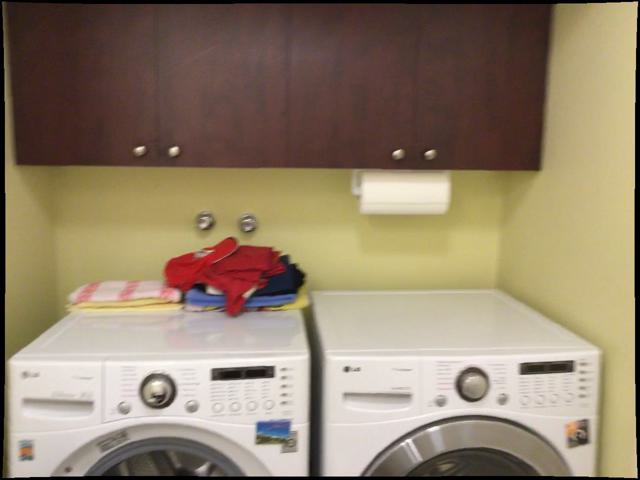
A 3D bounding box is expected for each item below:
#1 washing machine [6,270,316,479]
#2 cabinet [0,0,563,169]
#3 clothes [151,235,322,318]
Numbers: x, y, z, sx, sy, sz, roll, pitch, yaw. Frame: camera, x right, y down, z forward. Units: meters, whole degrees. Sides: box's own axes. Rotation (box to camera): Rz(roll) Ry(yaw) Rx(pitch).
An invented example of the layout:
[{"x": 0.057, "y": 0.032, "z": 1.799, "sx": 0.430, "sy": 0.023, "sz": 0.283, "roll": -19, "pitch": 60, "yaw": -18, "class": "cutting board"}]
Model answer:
[{"x": -0.360, "y": 0.671, "z": 1.690, "sx": 0.639, "sy": 1.011, "sz": 0.810, "roll": 0, "pitch": 9, "yaw": -4, "class": "washing machine"}, {"x": -0.090, "y": -0.591, "z": 1.680, "sx": 1.578, "sy": 0.751, "sz": 0.100, "roll": 0, "pitch": 9, "yaw": -4, "class": "cabinet"}, {"x": -0.240, "y": 0.100, "z": 1.750, "sx": 0.470, "sy": 0.190, "sz": 0.280, "roll": 0, "pitch": 9, "yaw": -4, "class": "clothes"}]
